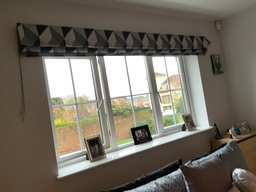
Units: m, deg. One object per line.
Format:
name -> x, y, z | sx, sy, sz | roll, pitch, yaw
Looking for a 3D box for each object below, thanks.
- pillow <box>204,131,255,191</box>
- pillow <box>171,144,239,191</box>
pillow -> 0.940, 0.640, 1.800 | 0.510, 0.470, 0.220 | -33, 12, -38
pillow -> 0.540, 0.560, 1.440 | 0.460, 0.270, 0.170 | -23, 7, -37
